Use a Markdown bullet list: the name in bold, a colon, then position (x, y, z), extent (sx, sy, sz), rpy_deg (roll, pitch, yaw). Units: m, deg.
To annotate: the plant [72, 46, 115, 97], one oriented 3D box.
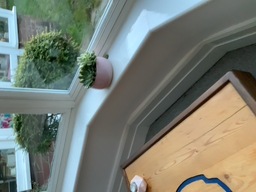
- **plant**: position (-0.170, -0.110, 1.000), extent (0.170, 0.110, 0.160), rpy_deg (-51, 49, 40)
